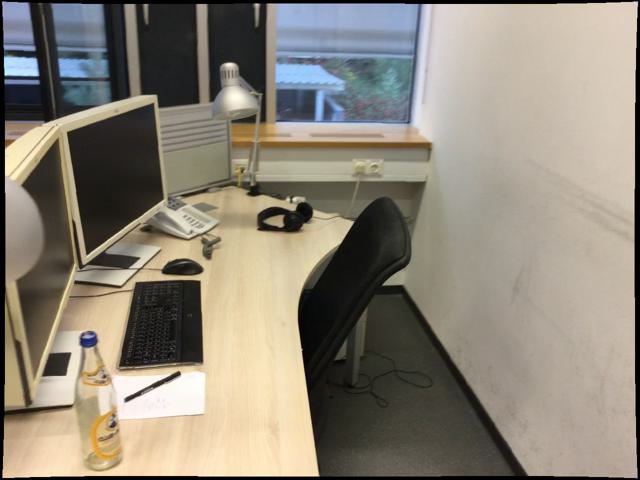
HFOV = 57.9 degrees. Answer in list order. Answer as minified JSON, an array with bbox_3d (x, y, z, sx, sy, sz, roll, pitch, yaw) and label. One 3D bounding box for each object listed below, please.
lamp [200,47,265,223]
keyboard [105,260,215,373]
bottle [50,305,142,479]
[{"bbox_3d":[-0.350,-0.440,2.280,0.200,0.570,0.570,-3,23,-10],"label":"lamp"},{"bbox_3d":[-0.410,0.180,1.560,0.240,0.020,0.540,-3,23,-10],"label":"keyboard"},{"bbox_3d":[-0.390,0.270,1.030,0.100,0.270,0.130,-3,23,-10],"label":"bottle"}]
